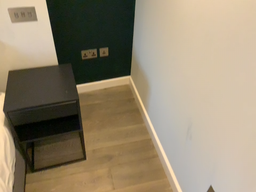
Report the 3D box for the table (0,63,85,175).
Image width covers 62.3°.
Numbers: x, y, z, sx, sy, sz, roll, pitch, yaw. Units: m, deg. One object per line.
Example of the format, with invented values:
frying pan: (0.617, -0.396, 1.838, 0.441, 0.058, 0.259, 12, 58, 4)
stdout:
table: (-0.560, 0.170, 1.500, 0.400, 0.650, 0.380, -10, 42, -15)
